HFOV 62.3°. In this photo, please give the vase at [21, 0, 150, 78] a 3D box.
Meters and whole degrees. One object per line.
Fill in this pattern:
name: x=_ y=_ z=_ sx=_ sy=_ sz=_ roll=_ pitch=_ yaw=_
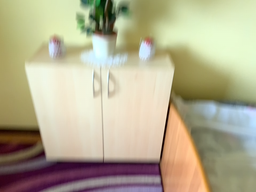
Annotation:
vase: x=-0.190 y=-0.570 z=1.050 sx=0.590 sy=0.900 sz=0.290 roll=3 pitch=33 yaw=0
